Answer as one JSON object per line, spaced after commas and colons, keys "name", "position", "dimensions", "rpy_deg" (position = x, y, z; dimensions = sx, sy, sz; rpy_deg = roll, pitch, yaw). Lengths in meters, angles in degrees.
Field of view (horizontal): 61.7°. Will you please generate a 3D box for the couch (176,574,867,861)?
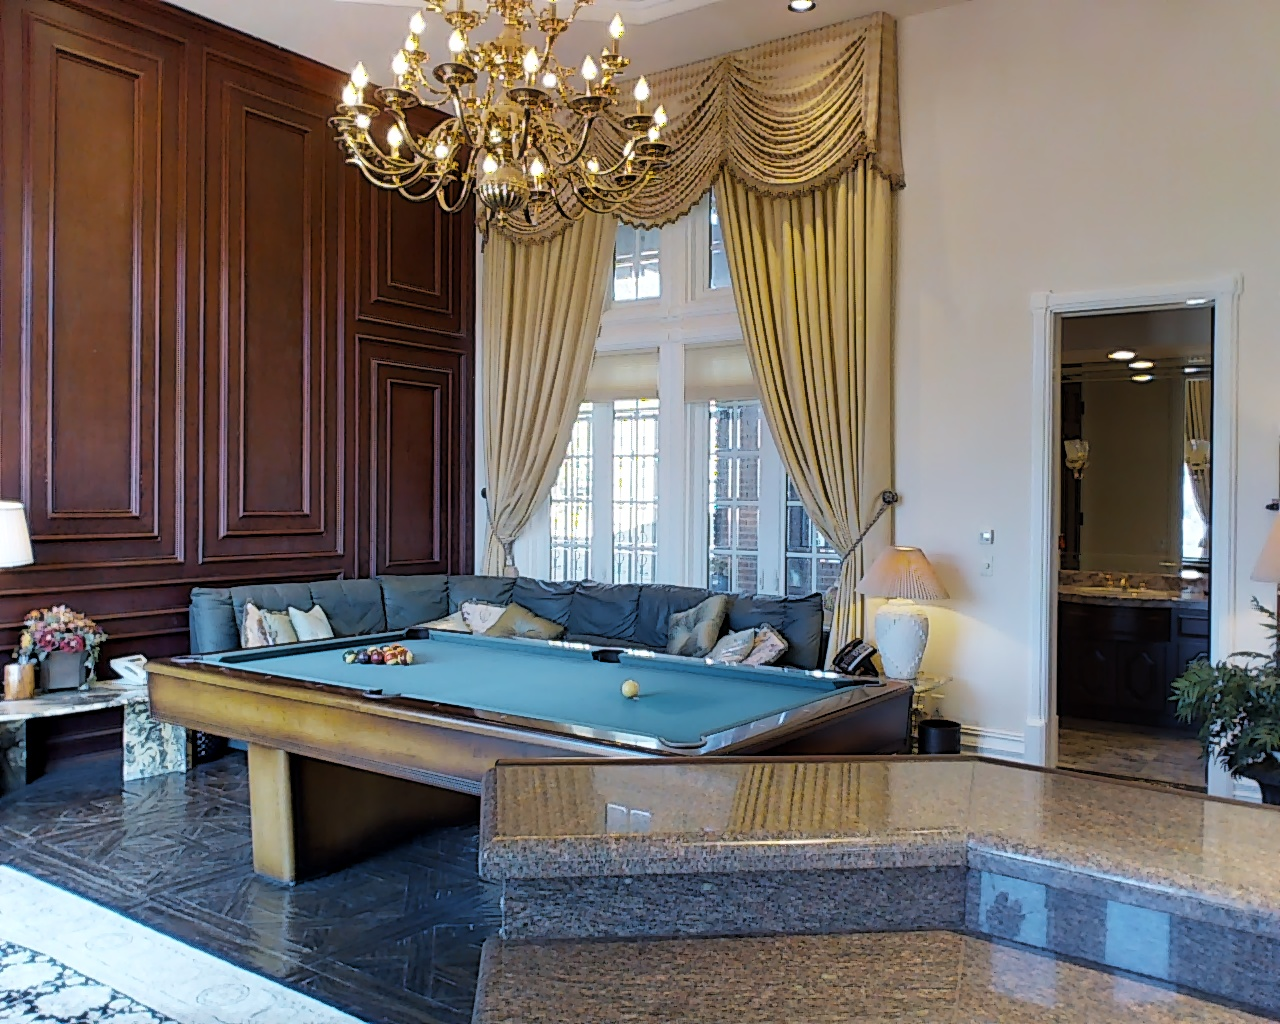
{"name": "couch", "position": [-0.640, 0.940, 6.250], "dimensions": [3.020, 0.870, 2.620], "rpy_deg": [1, 1, 36]}
